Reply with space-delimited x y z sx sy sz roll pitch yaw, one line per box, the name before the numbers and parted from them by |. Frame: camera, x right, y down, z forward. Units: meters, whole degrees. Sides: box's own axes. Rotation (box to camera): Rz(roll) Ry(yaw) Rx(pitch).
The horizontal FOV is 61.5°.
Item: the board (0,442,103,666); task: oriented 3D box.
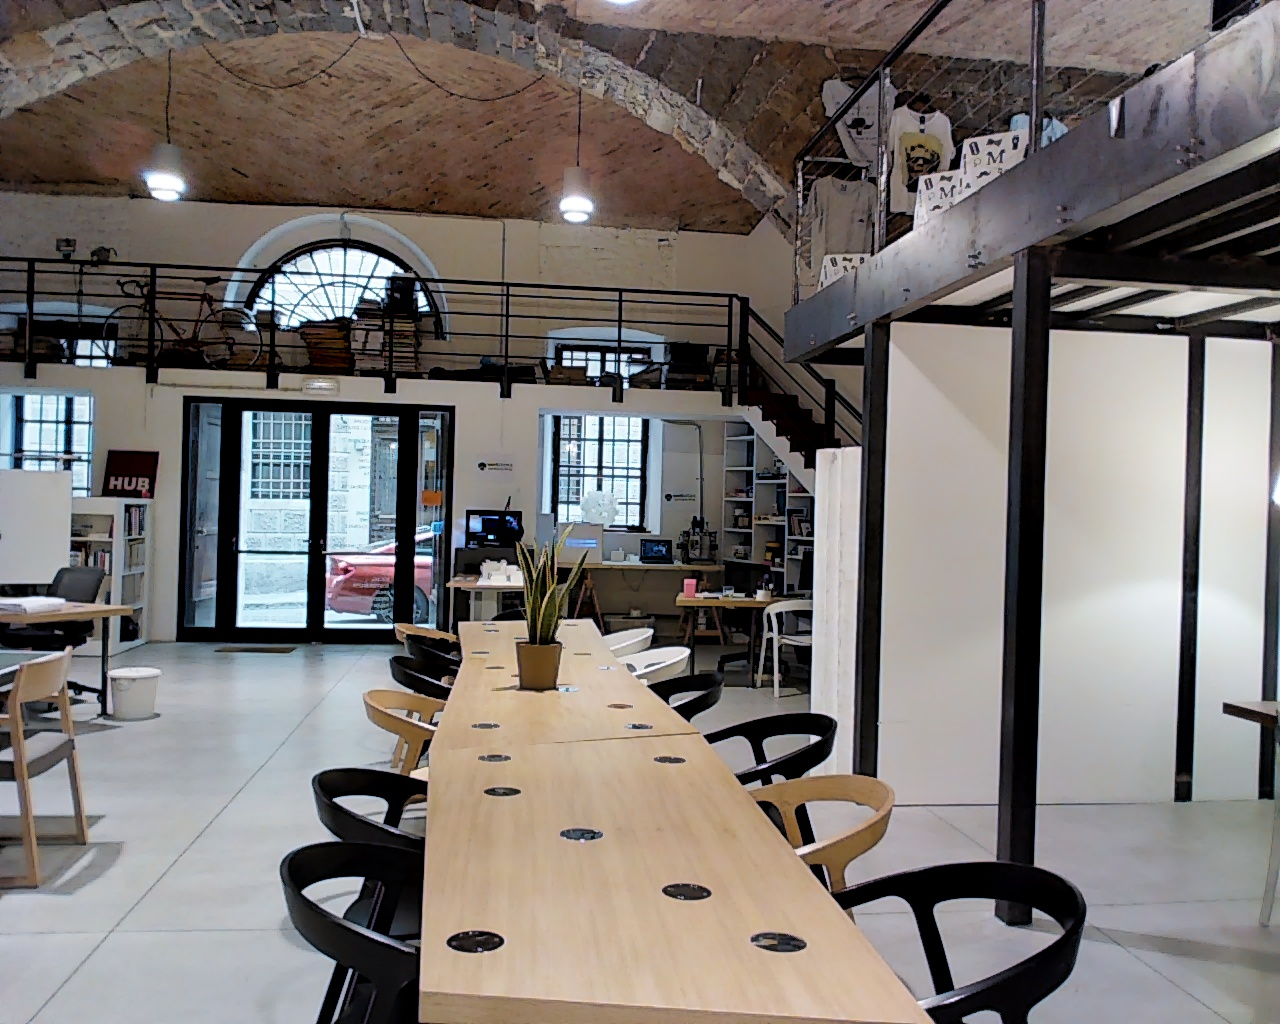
board | -5.598 0.360 9.260 1.620 1.901 0.360 4 -8 -24
